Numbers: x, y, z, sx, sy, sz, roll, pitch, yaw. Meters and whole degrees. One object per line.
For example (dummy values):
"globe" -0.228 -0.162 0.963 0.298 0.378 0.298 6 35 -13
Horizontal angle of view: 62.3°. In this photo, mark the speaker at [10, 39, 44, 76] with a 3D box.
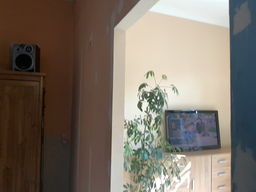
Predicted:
"speaker" -1.090 -0.400 2.310 0.300 0.310 0.350 2 -3 -23

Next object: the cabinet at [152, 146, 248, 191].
"cabinet" 1.190 1.300 3.370 1.690 0.900 0.280 4 -4 -23
